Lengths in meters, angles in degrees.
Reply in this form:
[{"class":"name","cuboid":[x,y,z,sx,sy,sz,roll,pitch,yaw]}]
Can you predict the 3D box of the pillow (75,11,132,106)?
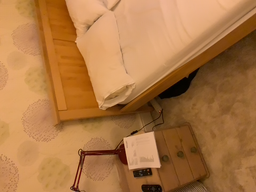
[{"class":"pillow","cuboid":[-0.210,-0.270,1.590,0.360,0.140,0.580,-40,61,46]}]
